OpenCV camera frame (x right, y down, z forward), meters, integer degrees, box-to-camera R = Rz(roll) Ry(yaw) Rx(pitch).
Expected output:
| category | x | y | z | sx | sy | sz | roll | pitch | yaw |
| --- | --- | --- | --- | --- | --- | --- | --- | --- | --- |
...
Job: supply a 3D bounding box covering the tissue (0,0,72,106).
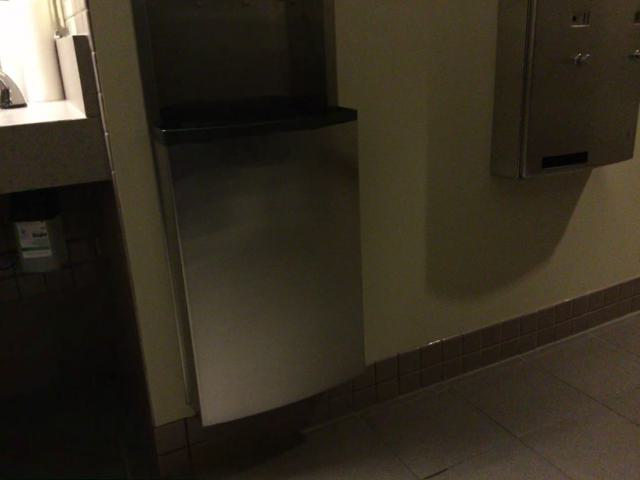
| category | x | y | z | sx | sy | sz | roll | pitch | yaw |
| --- | --- | --- | --- | --- | --- | --- | --- | --- | --- |
| tissue | -0.760 | -0.490 | 1.520 | 0.150 | 0.250 | 0.180 | -11 | 18 | -23 |
